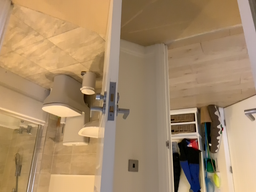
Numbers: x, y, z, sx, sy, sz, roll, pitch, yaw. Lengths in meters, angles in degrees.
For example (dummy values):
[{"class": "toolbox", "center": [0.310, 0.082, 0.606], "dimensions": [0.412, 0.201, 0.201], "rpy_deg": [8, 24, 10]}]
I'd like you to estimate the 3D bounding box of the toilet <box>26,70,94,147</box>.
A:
[{"class": "toilet", "center": [-0.860, 0.200, 2.830], "dimensions": [0.470, 0.840, 0.600], "rpy_deg": [-9, 157, 25]}]
